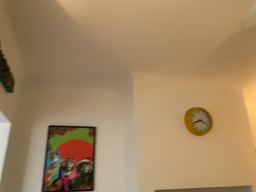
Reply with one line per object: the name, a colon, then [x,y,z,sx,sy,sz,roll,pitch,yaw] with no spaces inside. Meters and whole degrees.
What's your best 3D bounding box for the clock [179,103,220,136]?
clock: [0.940,0.310,2.800,0.460,0.390,0.140,4,-21,-15]
